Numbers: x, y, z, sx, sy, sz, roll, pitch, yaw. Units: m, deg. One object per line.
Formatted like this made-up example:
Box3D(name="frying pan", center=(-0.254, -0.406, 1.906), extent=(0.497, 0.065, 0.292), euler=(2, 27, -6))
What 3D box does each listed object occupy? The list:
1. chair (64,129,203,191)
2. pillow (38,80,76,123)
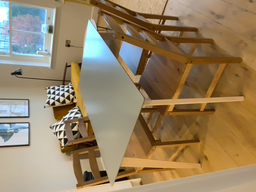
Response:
Box3D(name="chair", center=(0.010, 0.620, 1.660), extent=(0.430, 0.880, 0.530), euler=(63, 142, 44))
Box3D(name="pillow", center=(-1.330, 0.080, 3.950), extent=(0.620, 0.570, 0.290), euler=(-119, 7, -49))
